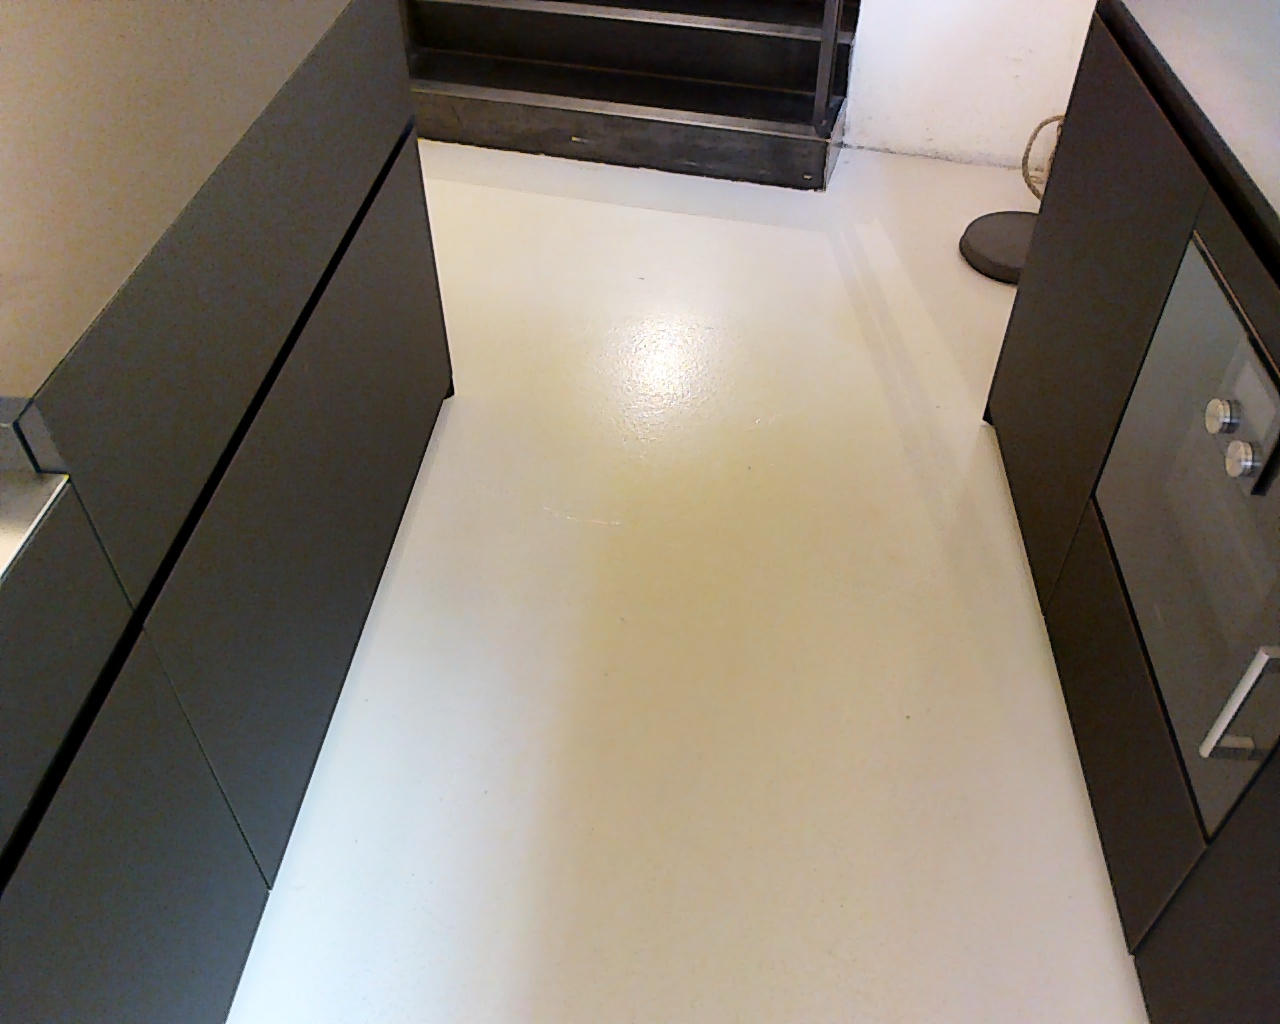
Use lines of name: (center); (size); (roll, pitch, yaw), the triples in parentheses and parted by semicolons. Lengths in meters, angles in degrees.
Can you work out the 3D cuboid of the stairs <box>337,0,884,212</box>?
stairs: (-0.070, -1.411, 3.360); (1.519, 0.470, 0.640); (12, 45, 12)
